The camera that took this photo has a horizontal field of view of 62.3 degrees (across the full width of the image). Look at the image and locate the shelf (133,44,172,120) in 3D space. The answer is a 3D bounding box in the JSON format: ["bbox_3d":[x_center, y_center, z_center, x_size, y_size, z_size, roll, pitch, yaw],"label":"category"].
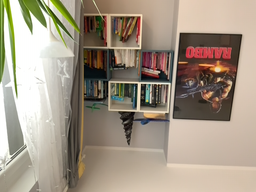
[{"bbox_3d":[0.270,-0.170,2.500,0.390,0.840,0.240,3,-166,4],"label":"shelf"}]

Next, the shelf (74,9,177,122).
[{"bbox_3d":[-0.040,-0.340,2.470,1.050,1.190,0.350,2,-166,1],"label":"shelf"}]
